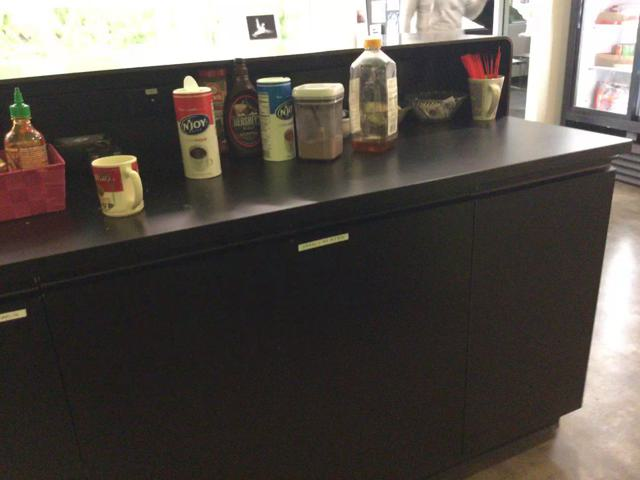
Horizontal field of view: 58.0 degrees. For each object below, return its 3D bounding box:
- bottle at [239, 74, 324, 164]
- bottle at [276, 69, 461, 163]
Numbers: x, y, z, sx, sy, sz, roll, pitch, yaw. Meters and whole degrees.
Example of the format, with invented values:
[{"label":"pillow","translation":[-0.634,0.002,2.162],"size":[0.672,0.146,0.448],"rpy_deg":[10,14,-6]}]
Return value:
[{"label":"bottle","translation":[-0.090,-0.290,1.360],"size":[0.150,0.180,0.140],"rpy_deg":[-11,22,-25]},{"label":"bottle","translation":[0.110,-0.330,1.470],"size":[0.330,0.170,0.340],"rpy_deg":[-11,22,-25]}]
